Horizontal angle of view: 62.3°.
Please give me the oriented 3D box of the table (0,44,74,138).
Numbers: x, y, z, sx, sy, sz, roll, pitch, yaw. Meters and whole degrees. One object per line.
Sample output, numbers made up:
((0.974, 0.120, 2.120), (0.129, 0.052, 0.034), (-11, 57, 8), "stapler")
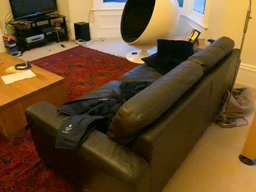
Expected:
((-1.340, -0.170, 2.390), (1.310, 0.380, 0.760), (25, 39, 34), "table")

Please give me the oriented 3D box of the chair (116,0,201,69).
((0.400, -1.240, 3.390), (0.870, 1.180, 1.060), (-12, 34, -20), "chair")

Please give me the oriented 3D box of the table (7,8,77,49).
((-1.660, -1.380, 4.220), (0.590, 0.520, 1.060), (27, 40, 36), "table")
